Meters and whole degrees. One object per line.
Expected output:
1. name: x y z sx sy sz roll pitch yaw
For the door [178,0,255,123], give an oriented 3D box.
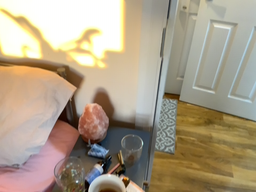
1. door: 0.830 -0.660 1.360 0.690 1.980 0.050 17 40 19
